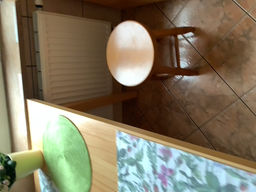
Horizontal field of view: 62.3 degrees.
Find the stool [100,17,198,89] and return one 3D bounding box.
[{"bbox_3d":[0.130,-0.230,1.180,0.330,0.450,0.300,8,104,41],"label":"stool"}]
